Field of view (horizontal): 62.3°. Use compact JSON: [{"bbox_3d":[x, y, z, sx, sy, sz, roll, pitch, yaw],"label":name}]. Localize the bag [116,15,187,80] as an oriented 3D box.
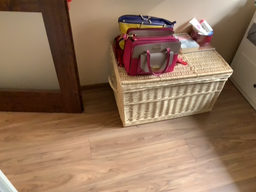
[{"bbox_3d":[0.130,-0.340,1.440,0.360,0.250,0.350,-7,46,-12],"label":"bag"}]
